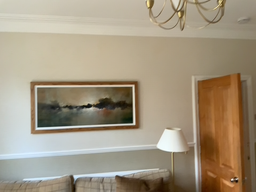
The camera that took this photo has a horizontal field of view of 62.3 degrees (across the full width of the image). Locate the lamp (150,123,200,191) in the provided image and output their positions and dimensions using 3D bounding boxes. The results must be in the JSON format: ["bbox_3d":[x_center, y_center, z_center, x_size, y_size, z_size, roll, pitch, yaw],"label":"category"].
[{"bbox_3d":[0.560,1.050,2.590,0.420,1.370,0.490,-1,-2,-9],"label":"lamp"}]
